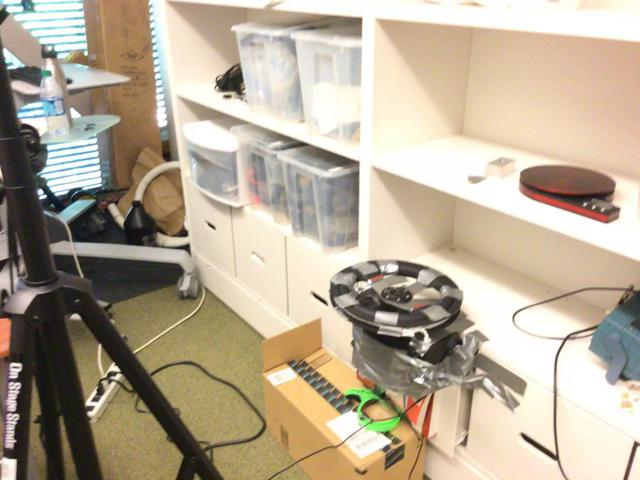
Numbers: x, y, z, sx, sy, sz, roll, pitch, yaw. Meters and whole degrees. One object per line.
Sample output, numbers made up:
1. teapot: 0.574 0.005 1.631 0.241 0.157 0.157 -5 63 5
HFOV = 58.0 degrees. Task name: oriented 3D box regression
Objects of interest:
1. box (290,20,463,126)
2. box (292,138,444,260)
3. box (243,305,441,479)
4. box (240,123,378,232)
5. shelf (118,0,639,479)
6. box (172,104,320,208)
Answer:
1. box: 0.150 -0.480 1.610 0.340 0.240 0.320 -15 26 -33
2. box: 0.140 -0.140 1.750 0.350 0.250 0.280 -15 26 -33
3. box: 0.040 0.490 1.720 0.280 0.340 0.560 -15 26 -33
4. box: -0.040 -0.230 1.980 0.340 0.260 0.320 -15 26 -33
5. shelf: 0.630 -0.190 1.000 0.610 2.150 3.940 -15 26 -33
6. box: -0.290 -0.350 2.270 0.400 0.270 0.440 -15 26 -33
